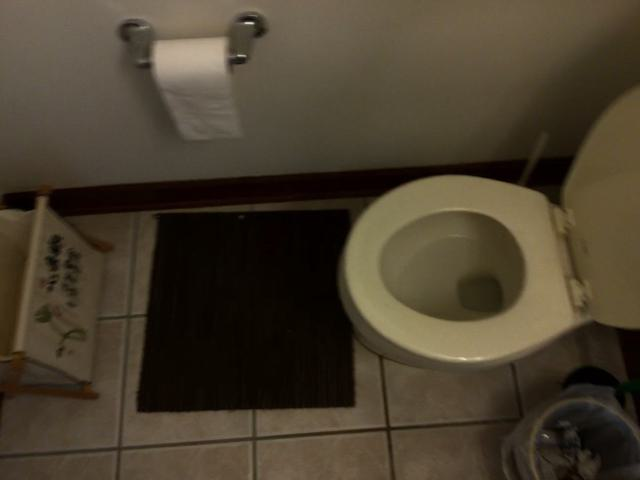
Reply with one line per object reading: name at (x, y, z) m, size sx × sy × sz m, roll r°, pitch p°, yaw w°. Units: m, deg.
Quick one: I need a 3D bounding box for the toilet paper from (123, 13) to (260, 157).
toilet paper at (-0.210, -0.260, 1.010) m, size 0.180 × 0.240 × 0.110 m, roll -3°, pitch 67°, yaw 0°

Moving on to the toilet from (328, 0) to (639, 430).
toilet at (0.370, 0.030, 1.030) m, size 0.680 × 0.770 × 0.490 m, roll -3°, pitch 67°, yaw 0°

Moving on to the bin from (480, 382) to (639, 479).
bin at (0.490, 0.440, 1.150) m, size 0.250 × 0.220 × 0.260 m, roll -3°, pitch 67°, yaw 0°
